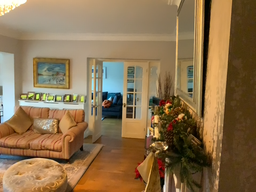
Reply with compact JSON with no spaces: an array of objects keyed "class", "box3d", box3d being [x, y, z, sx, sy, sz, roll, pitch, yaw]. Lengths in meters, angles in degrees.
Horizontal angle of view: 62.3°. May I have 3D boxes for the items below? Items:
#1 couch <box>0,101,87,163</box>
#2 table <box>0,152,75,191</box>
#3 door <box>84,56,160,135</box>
[{"class":"couch","box3d":[-1.760,0.620,4.100,1.710,0.900,0.940,2,6,3]},{"class":"table","box3d":[-1.200,1.080,2.690,0.680,0.350,0.890,-4,8,-42]},{"class":"door","box3d":[-0.180,-0.010,5.410,1.890,1.930,0.160,2,6,4]}]
